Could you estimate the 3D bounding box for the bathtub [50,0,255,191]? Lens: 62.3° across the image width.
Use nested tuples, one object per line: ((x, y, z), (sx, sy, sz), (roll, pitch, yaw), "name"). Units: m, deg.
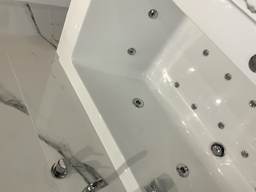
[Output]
((0.390, 0.090, 0.820), (1.830, 0.560, 0.880), (57, 135, 23), "bathtub")
